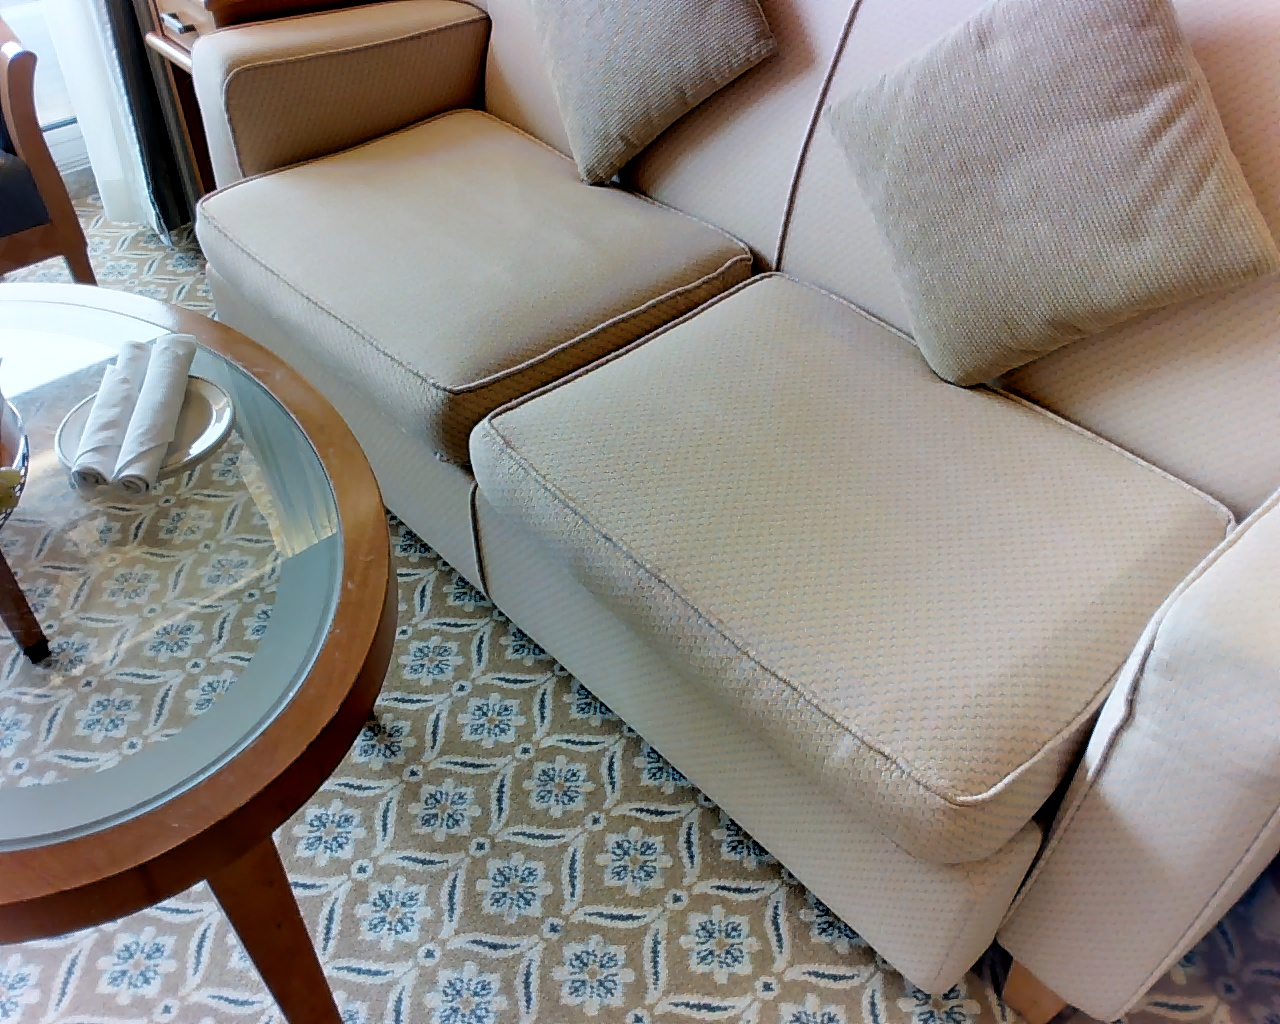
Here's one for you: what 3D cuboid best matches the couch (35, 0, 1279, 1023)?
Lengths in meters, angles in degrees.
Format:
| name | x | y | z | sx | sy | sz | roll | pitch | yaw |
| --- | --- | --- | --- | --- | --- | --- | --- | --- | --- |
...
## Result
| name | x | y | z | sx | sy | sz | roll | pitch | yaw |
| --- | --- | --- | --- | --- | --- | --- | --- | --- | --- |
| couch | 0.060 | -0.330 | 1.490 | 0.900 | 0.890 | 1.840 | -32 | 51 | -30 |
